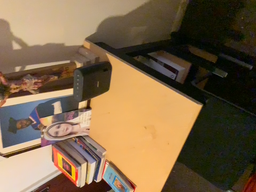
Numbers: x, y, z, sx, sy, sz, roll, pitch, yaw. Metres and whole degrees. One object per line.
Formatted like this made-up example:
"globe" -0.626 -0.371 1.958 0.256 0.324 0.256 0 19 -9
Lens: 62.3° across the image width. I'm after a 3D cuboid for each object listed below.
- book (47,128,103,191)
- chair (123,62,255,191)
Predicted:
"book" -0.250 0.310 0.980 0.190 0.140 0.220 35 126 26
"chair" 0.440 0.220 0.970 0.490 0.720 0.480 33 125 28
